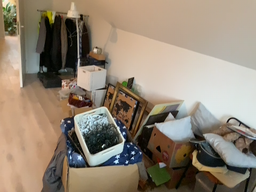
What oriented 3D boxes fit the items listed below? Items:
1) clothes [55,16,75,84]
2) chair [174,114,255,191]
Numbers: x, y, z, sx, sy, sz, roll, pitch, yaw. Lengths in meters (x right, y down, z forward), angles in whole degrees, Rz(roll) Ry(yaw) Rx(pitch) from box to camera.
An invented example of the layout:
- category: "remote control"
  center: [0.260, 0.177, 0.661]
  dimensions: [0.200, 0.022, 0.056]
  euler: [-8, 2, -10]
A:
- category: "clothes"
  center: [-1.370, -0.980, 4.500]
  dimensions: [0.320, 1.280, 0.660]
  euler: [1, 24, -21]
- category: "chair"
  center: [0.830, 0.650, 1.930]
  dimensions: [0.500, 0.820, 0.410]
  euler: [-6, 26, -33]
